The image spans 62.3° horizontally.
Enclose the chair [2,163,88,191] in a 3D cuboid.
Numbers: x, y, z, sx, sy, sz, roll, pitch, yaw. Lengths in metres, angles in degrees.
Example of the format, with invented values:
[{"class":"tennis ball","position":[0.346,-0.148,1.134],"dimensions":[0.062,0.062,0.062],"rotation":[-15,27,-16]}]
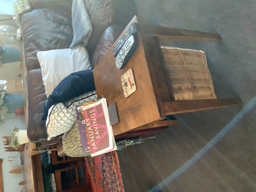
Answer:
[{"class":"chair","position":[-1.220,1.430,3.170],"dimensions":[0.500,1.090,0.570],"rotation":[-35,64,55]}]
